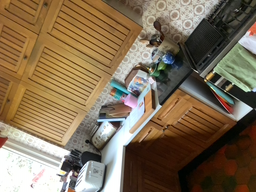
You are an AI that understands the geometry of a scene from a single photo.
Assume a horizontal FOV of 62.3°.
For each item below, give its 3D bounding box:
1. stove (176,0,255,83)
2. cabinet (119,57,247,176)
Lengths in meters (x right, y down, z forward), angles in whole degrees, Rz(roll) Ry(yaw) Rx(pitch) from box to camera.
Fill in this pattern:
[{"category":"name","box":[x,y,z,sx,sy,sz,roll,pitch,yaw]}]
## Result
[{"category":"stove","box":[0.770,-0.660,1.580,1.020,0.080,0.680,-52,19,29]},{"category":"cabinet","box":[0.510,0.240,2.260,0.800,0.890,0.580,-52,19,29]}]
